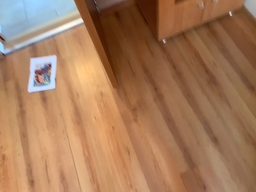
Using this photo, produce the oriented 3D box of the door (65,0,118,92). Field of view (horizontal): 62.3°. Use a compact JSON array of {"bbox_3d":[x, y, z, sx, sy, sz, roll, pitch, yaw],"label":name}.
[{"bbox_3d":[-0.320,-0.810,0.720,0.070,2.130,0.740,-14,64,1],"label":"door"}]
